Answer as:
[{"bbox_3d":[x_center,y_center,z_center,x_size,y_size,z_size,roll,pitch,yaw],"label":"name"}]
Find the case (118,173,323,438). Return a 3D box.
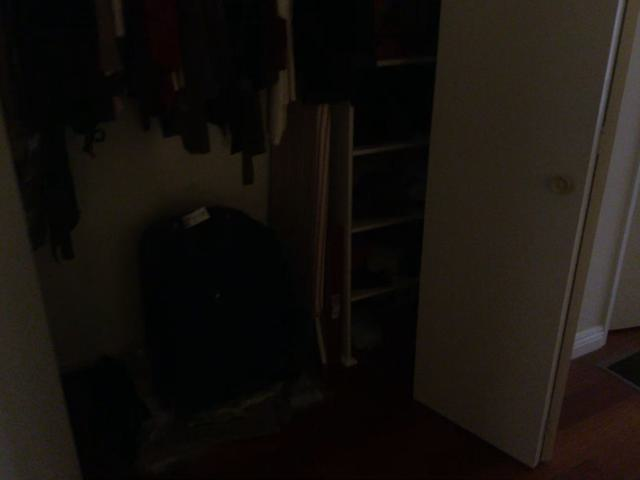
[{"bbox_3d":[-0.330,0.180,1.950,0.510,0.660,0.460,-12,24,-25],"label":"case"}]

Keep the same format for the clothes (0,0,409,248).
[{"bbox_3d":[-0.270,-0.360,1.460,0.950,0.510,0.330,-12,24,-25],"label":"clothes"}]
